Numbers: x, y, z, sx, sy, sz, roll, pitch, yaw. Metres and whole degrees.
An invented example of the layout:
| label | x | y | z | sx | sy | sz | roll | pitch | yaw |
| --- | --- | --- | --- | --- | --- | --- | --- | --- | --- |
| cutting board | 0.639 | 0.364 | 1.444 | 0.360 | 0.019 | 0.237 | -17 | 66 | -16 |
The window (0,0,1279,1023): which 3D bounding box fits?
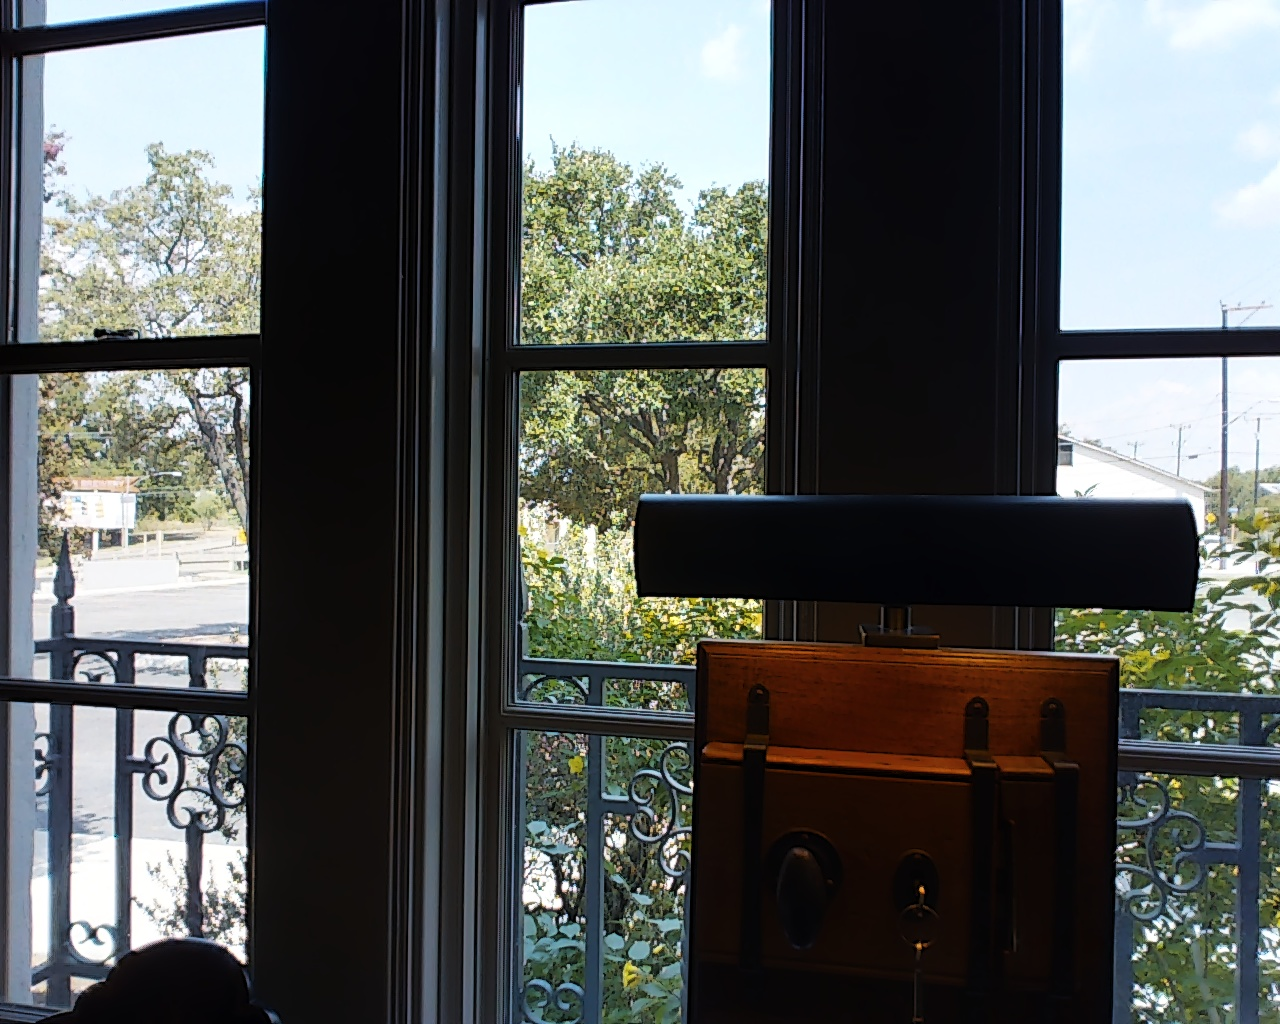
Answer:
| label | x | y | z | sx | sy | sz | roll | pitch | yaw |
| --- | --- | --- | --- | --- | --- | --- | --- | --- | --- |
| window | 0.290 | -0.240 | 1.180 | 2.920 | 2.180 | 0.230 | 1 | 0 | 14 |
